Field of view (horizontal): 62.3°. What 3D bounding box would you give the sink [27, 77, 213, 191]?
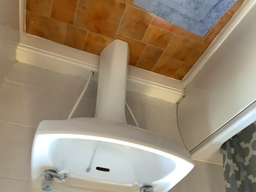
[{"bbox_3d":[-0.050,0.220,0.890,0.610,0.210,0.410,17,137,-18],"label":"sink"}]
